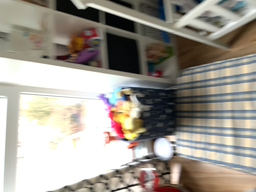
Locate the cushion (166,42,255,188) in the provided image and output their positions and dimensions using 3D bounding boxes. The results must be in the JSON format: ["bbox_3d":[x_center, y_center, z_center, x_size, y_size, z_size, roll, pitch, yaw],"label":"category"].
[{"bbox_3d":[0.640,0.110,1.370,0.960,0.150,0.790,-6,81,56],"label":"cushion"}]

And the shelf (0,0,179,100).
[{"bbox_3d":[-0.340,-0.460,1.780,0.560,1.450,0.790,-25,66,53],"label":"shelf"}]
